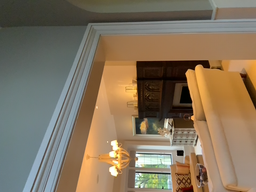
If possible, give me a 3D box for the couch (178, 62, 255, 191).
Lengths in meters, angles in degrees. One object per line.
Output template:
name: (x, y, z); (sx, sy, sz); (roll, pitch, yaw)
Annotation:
couch: (1.390, 0.680, 3.000); (1.070, 0.960, 2.310); (86, -174, -49)
